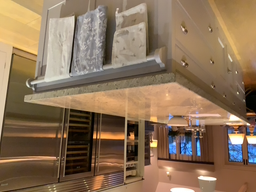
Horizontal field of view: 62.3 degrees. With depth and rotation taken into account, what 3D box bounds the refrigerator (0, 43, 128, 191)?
[{"bbox_3d":[-1.130,0.640,4.000,0.840,2.200,2.750,-5,167,33],"label":"refrigerator"}]
